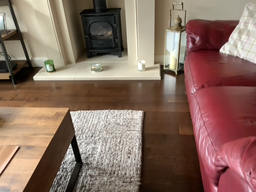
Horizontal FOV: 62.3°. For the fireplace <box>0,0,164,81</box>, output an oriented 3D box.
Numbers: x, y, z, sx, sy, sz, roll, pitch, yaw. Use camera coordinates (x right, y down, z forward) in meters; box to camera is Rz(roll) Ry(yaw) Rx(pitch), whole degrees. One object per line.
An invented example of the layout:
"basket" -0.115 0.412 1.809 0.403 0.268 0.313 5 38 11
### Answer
"fireplace" -0.380 -1.000 2.370 1.470 1.280 1.080 0 34 6
